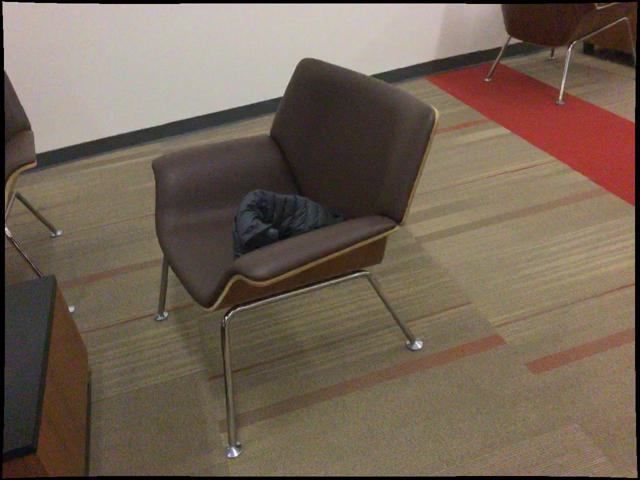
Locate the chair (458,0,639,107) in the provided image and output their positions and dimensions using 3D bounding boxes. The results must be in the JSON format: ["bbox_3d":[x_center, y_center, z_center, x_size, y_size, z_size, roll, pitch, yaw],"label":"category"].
[{"bbox_3d":[1.416,-1.384,3.470,0.779,0.761,0.830,-21,36,-19],"label":"chair"}]

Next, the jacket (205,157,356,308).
[{"bbox_3d":[-0.110,-0.030,1.610,0.329,0.250,0.250,-17,35,-13],"label":"jacket"}]

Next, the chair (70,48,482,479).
[{"bbox_3d":[-0.140,-0.020,1.780,0.829,0.771,0.880,-23,36,-21],"label":"chair"}]
